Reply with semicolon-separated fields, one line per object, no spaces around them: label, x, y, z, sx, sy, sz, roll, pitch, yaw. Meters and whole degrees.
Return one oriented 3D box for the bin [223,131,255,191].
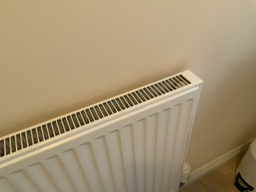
bin;0.610;0.330;0.990;0.180;0.250;0.180;-31;50;-27
